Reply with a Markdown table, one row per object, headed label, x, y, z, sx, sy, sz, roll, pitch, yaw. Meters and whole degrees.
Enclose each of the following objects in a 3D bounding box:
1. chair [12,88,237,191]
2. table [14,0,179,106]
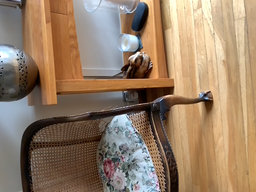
| label | x | y | z | sx | sy | sz | roll | pitch | yaw |
| --- | --- | --- | --- | --- | --- | --- | --- | --- | --- |
| chair | -0.020 | 0.320 | 1.010 | 0.600 | 0.800 | 0.560 | -20 | 78 | 51 |
| table | -0.170 | -0.580 | 1.160 | 0.400 | 0.750 | 1.200 | -5 | 90 | 52 |
